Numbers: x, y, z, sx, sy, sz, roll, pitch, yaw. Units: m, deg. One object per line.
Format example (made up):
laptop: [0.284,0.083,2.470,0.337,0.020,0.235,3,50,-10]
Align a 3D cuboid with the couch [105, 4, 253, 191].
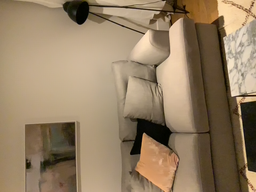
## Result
couch: [0.410,0.780,2.120,1.050,0.980,2.890,157,110,-72]

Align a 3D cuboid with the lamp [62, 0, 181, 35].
lamp: [-0.050,-1.010,2.650,0.170,1.480,0.350,161,107,-72]
